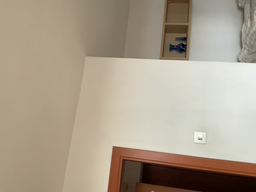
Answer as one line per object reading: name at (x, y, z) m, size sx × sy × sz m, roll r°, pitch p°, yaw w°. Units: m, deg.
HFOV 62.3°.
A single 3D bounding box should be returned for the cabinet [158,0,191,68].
cabinet at (0.760, -1.060, 3.450) m, size 0.150 × 0.450 × 1.210 m, roll 64°, pitch -148°, yaw -71°
